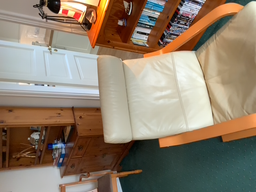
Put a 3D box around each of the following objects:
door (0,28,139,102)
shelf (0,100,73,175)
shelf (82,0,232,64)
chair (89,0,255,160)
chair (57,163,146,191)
[{"bbox_3d":[-0.970,-0.380,2.520,0.160,2.120,1.000,-62,38,37],"label":"door"},{"bbox_3d":[-1.270,0.510,2.400,1.050,1.030,0.280,-61,39,39],"label":"shelf"},{"bbox_3d":[0.260,-0.770,1.590,0.930,0.940,0.360,-61,39,39],"label":"shelf"},{"bbox_3d":[0.400,-0.090,1.260,0.850,0.970,0.710,-39,55,53],"label":"chair"},{"bbox_3d":[-0.320,1.160,2.520,0.570,0.880,0.550,-39,55,53],"label":"chair"}]
